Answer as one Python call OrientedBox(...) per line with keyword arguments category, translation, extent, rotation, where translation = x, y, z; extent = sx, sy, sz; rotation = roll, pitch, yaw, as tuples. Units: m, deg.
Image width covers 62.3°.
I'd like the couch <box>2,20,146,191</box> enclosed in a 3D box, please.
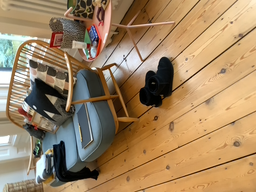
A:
OrientedBox(category="couch", translation=(-0.750, 0.280, 2.190), extent=(1.700, 0.750, 1.000), rotation=(-42, 58, 46))
